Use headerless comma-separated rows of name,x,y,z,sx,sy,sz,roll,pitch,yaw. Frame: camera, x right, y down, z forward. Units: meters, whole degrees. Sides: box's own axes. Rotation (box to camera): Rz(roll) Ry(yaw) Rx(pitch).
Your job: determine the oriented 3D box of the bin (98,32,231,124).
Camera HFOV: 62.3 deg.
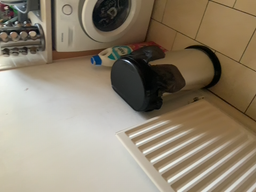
bin,0.230,-0.170,1.380,0.450,0.690,0.280,45,136,35
